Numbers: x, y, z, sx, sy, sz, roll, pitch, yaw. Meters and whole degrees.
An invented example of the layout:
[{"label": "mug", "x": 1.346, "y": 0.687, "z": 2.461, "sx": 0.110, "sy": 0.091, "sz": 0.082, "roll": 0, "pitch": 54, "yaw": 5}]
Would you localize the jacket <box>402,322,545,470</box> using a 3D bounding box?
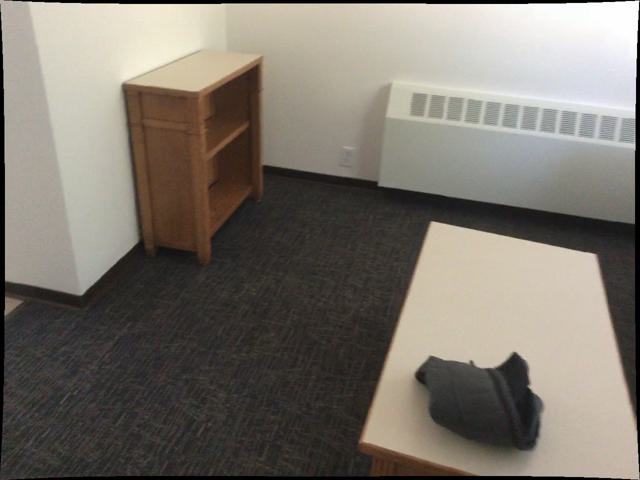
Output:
[{"label": "jacket", "x": 0.319, "y": 0.321, "z": 1.230, "sx": 0.250, "sy": 0.130, "sz": 0.240, "roll": 9, "pitch": 31, "yaw": 9}]
